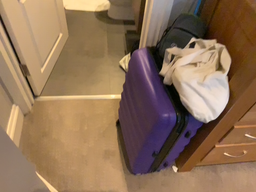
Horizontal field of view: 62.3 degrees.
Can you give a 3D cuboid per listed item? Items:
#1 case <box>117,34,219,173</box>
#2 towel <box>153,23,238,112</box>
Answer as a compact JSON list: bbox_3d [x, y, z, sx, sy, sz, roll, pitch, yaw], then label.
[{"bbox_3d":[0.130,0.070,1.140,0.300,0.620,0.460,-3,53,-8],"label":"case"},{"bbox_3d":[0.230,-0.120,0.810,0.180,0.150,0.320,-3,53,-9],"label":"towel"}]
